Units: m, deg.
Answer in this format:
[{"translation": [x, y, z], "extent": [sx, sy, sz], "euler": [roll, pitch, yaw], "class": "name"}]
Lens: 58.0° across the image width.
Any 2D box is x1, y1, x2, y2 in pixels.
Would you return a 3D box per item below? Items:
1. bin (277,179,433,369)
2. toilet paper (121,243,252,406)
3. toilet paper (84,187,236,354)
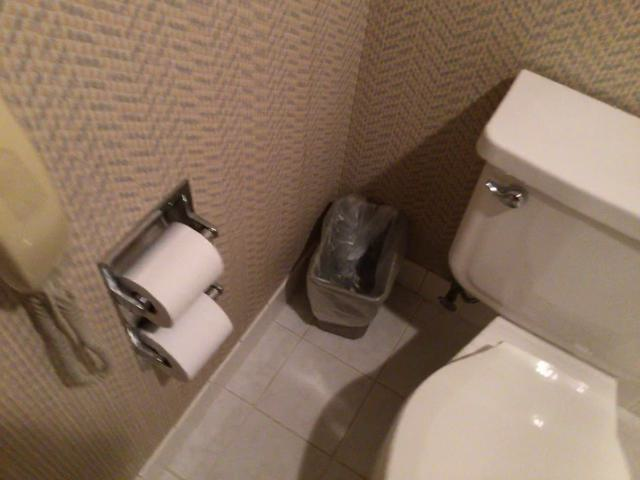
[{"translation": [0.070, 0.080, 1.330], "extent": [0.230, 0.270, 0.260], "euler": [29, 57, 16], "class": "bin"}, {"translation": [-0.190, 0.130, 0.870], "extent": [0.100, 0.180, 0.150], "euler": [29, 57, 16], "class": "toilet paper"}, {"translation": [-0.200, 0.040, 0.760], "extent": [0.110, 0.130, 0.140], "euler": [29, 57, 16], "class": "toilet paper"}]
